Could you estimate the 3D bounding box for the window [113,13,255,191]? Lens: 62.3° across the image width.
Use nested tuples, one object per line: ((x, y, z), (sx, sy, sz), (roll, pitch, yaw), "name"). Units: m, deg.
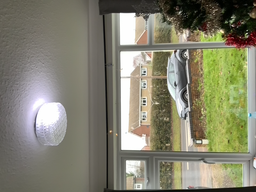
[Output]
((0.670, 0.220, 2.360), (0.120, 1.640, 2.180), (-7, -83, -85), "window")
